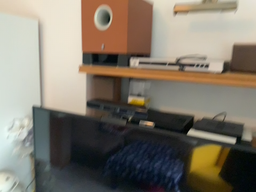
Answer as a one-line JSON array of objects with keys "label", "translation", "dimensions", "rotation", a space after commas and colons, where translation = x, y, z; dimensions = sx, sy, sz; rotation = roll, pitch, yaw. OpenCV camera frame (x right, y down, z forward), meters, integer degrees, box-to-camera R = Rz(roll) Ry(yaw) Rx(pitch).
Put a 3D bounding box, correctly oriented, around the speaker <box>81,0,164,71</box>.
[{"label": "speaker", "translation": [-0.020, -0.380, 1.220], "dimensions": [0.290, 0.440, 0.390], "rotation": [9, 12, 32]}]
